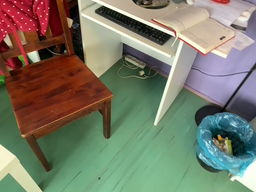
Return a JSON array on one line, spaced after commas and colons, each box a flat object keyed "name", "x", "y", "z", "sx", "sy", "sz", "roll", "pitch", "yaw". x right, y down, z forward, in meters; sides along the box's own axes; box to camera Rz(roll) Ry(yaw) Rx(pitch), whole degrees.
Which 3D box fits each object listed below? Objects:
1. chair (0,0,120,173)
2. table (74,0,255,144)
[{"name": "chair", "x": -0.390, "y": -0.110, "z": 1.080, "sx": 0.440, "sy": 0.930, "sz": 0.530, "roll": -25, "pitch": 58, "yaw": -23}, {"name": "table", "x": 0.170, "y": -0.280, "z": 1.360, "sx": 0.810, "sy": 0.730, "sz": 0.520, "roll": 33, "pitch": 55, "yaw": 19}]
